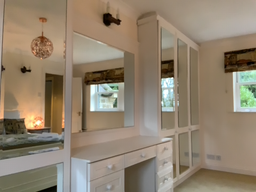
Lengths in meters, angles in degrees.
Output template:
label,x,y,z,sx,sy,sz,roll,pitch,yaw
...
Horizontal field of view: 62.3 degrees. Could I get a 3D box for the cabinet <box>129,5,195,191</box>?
label,x,y,z,sx,sy,sz,roll,pitch,yaw
cabinet,0.650,0.120,3.400,0.310,2.360,1.910,-2,-3,31
